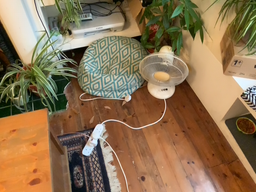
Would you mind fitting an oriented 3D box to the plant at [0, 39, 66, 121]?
[{"bbox_3d":[-0.700,-0.100,1.500,0.390,0.440,0.290,-14,55,-11],"label":"plant"}]
